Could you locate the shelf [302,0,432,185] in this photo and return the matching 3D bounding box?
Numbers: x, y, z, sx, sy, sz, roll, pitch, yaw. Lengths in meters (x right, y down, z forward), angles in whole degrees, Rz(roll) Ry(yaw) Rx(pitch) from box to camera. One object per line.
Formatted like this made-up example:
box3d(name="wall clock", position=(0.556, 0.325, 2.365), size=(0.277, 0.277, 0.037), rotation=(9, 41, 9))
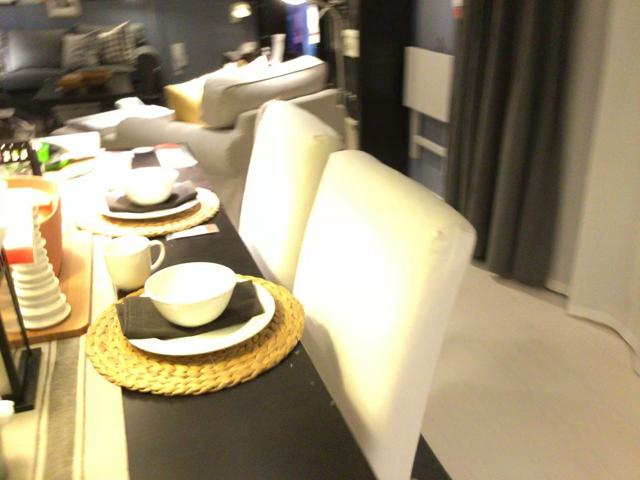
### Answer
box3d(name="shelf", position=(0.260, -1.300, 3.840), size=(0.470, 1.570, 1.060), rotation=(-8, 26, -16))
